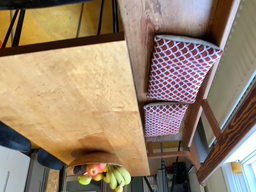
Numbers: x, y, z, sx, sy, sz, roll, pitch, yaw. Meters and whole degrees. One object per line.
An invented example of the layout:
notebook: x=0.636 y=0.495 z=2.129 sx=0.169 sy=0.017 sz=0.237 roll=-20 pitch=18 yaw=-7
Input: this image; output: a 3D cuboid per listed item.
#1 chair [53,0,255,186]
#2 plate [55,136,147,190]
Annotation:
chair: x=0.280 y=-0.020 z=1.390 sx=0.580 sy=0.840 sz=1.980 roll=-6 pitch=149 yaw=6
plate: x=-0.130 y=0.410 z=1.250 sx=0.450 sy=0.200 sz=0.350 roll=-6 pitch=149 yaw=5
